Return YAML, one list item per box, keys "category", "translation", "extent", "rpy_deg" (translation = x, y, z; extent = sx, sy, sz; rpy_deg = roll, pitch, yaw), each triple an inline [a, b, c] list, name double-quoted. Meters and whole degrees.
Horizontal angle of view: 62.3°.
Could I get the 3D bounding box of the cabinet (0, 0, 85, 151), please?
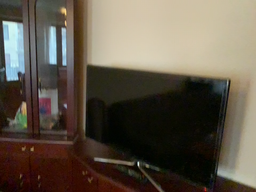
- category: "cabinet"
  translation: [-0.760, -0.350, 1.750]
  extent: [0.510, 1.340, 0.610]
  rpy_deg: [11, 14, 36]
